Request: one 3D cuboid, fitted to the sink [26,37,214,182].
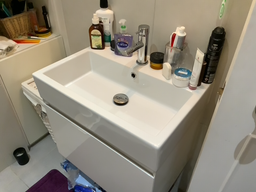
[{"bbox_3d":[-0.040,-0.020,0.880,0.610,0.160,0.420,27,46,29],"label":"sink"}]
